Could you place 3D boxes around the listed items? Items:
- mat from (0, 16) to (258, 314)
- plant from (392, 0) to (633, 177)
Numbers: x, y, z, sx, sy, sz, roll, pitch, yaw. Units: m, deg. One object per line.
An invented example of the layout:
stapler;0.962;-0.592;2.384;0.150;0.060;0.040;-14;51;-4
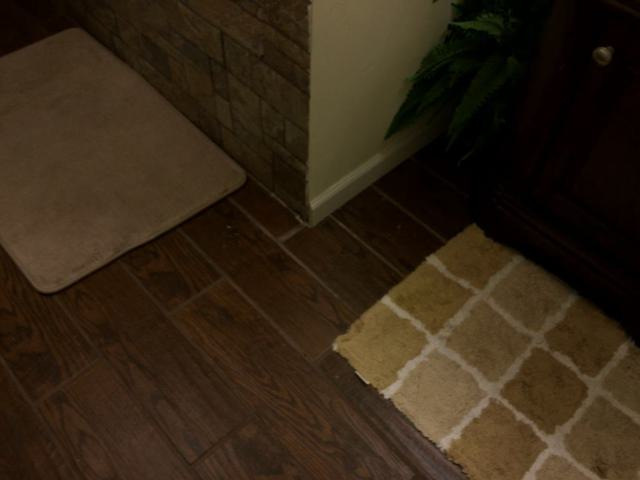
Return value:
mat;-0.710;-0.290;1.620;0.610;0.050;0.940;-36;62;-25
plant;0.480;-0.480;1.390;0.590;0.350;0.230;-36;62;-25
